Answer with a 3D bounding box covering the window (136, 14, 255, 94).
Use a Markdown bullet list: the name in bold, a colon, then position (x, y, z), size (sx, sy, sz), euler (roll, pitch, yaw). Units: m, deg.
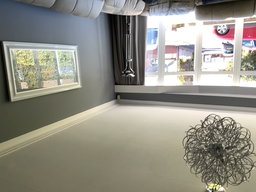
- **window**: position (1.870, -0.670, 3.490), size (3.570, 1.170, 0.550), euler (4, -168, 27)
